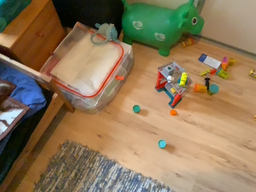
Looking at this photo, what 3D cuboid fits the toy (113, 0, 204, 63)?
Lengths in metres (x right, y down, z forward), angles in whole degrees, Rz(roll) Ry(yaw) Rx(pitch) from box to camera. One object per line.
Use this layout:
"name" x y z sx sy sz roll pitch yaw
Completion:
"toy" 0.200 -0.540 1.500 0.520 0.420 0.260 22 69 11
